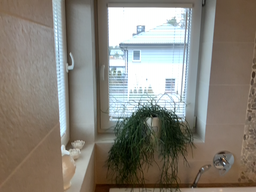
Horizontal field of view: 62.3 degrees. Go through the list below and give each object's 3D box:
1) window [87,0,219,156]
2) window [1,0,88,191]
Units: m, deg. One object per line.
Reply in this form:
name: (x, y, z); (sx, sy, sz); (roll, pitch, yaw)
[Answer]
window: (0.170, -0.170, 1.740); (0.960, 1.330, 0.160); (1, 12, 2)
window: (-0.370, -0.100, 1.130); (0.130, 1.220, 0.680); (1, 12, 2)
